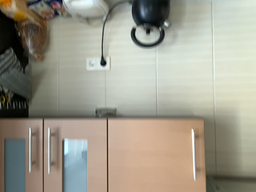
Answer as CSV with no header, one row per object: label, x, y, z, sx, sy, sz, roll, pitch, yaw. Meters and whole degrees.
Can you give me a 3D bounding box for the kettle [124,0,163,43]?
kettle,0.090,-0.430,1.100,0.180,0.240,0.230,-1,178,10
